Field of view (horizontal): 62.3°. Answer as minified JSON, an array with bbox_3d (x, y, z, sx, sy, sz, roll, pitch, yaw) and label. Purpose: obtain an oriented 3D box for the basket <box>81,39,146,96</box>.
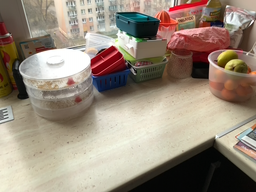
[{"bbox_3d":[-0.060,-0.120,0.810,0.160,0.110,0.210,-19,39,-25],"label":"basket"}]
